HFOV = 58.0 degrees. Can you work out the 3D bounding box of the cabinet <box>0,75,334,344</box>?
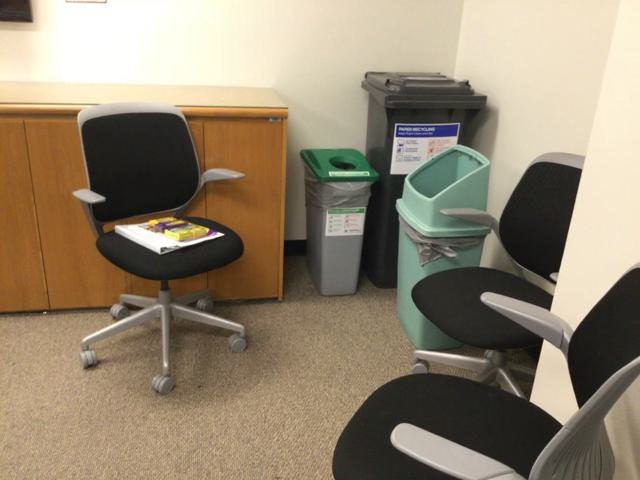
[{"bbox_3d":[-2.140,-0.170,2.230,4.270,0.960,0.730,0,20,-15],"label":"cabinet"}]
